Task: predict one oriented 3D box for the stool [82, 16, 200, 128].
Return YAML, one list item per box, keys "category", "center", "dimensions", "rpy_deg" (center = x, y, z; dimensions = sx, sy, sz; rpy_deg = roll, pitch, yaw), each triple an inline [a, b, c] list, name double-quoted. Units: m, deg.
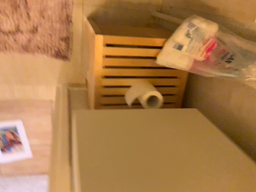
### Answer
- category: "stool"
  center: [0.000, -0.160, 1.050]
  dimensions: [0.400, 0.510, 0.370]
  rpy_deg: [-3, 117, -16]
